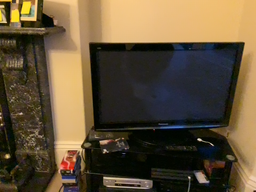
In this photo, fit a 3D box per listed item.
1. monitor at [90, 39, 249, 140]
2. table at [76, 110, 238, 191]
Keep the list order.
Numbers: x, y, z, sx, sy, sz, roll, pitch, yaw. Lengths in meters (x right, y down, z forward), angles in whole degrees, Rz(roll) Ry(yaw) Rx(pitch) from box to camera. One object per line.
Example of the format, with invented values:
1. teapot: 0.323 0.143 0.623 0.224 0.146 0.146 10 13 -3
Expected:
1. monitor: 0.270 -0.030 1.490 1.030 0.690 0.080 -1 20 -7
2. table: 0.200 0.510 1.760 1.060 0.520 0.590 4 20 7
